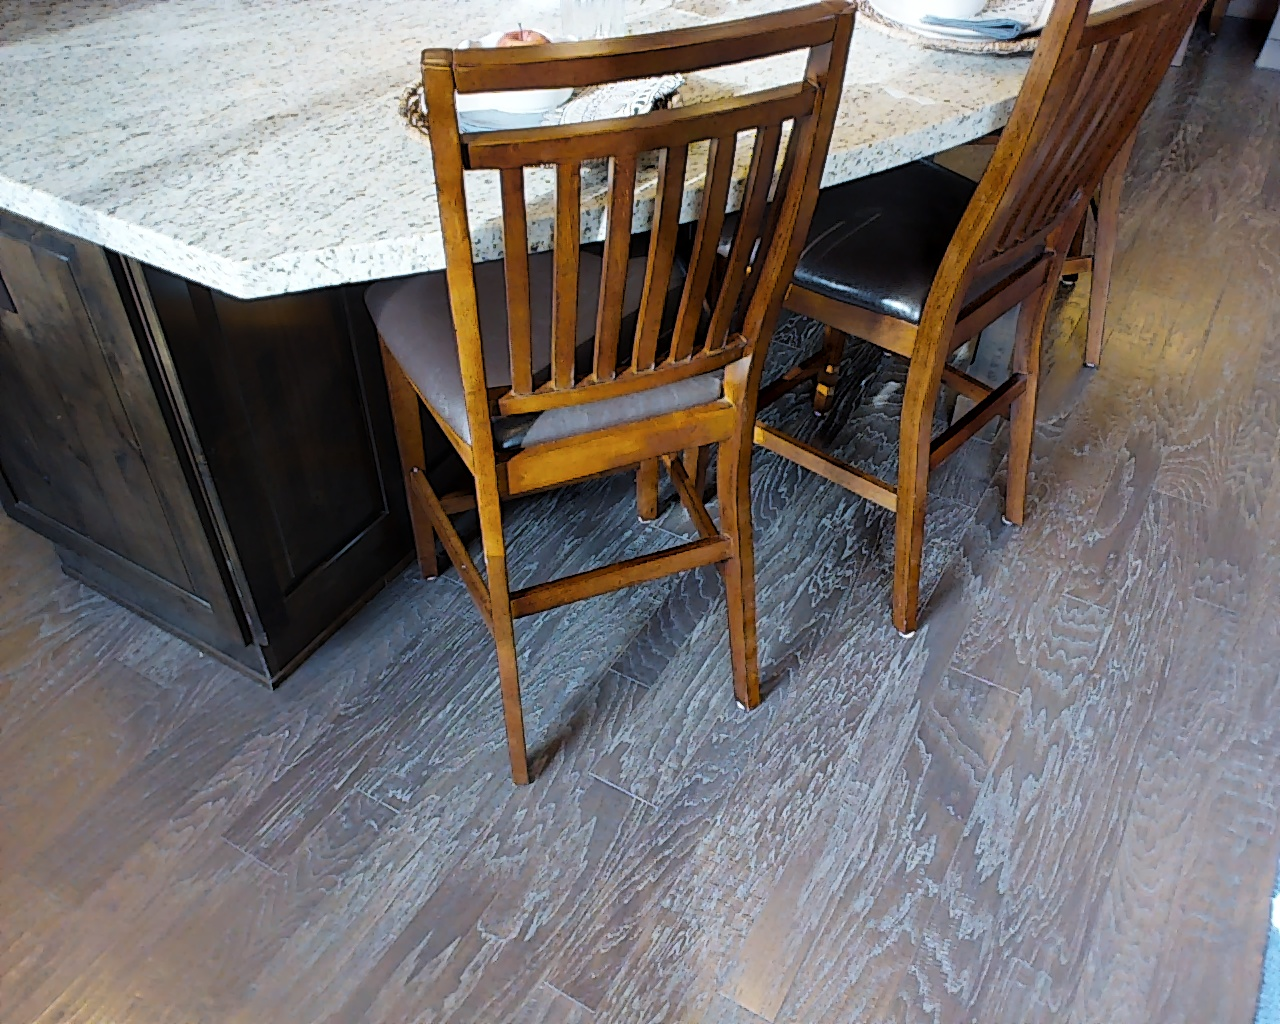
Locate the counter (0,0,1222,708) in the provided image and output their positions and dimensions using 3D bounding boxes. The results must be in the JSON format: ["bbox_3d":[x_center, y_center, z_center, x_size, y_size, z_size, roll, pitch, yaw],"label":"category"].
[{"bbox_3d":[0.180,-1.000,2.090,1.600,0.290,2.790,21,46,22],"label":"counter"}]

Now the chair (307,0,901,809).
[{"bbox_3d":[-0.080,-0.180,1.510,0.510,1.090,0.530,-14,44,-15],"label":"chair"}]

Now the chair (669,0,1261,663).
[{"bbox_3d":[0.450,-0.410,1.750,0.510,1.090,0.600,-33,52,-32],"label":"chair"}]
